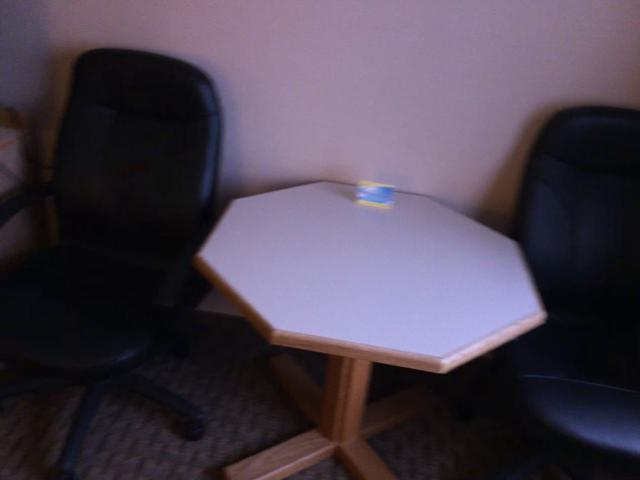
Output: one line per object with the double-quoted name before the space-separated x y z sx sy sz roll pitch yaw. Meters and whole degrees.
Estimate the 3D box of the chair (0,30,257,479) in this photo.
"chair" -0.630 0.050 1.620 0.700 1.030 0.750 9 27 0

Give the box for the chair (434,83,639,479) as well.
"chair" 0.780 0.220 1.590 0.630 1.050 0.740 9 27 0

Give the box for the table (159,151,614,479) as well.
"table" 0.100 0.300 1.620 0.860 0.760 0.810 8 27 -1
